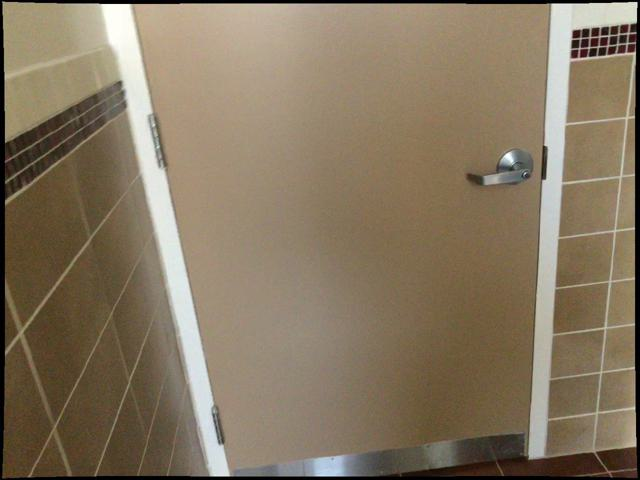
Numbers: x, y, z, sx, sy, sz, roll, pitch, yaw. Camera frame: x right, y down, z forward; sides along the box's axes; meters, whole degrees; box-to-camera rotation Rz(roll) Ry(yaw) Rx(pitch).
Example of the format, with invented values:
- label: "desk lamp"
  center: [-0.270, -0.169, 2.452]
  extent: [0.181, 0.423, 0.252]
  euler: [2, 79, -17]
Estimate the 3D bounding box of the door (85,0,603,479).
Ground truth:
- label: "door"
  center: [0.130, 0.050, 1.480]
  extent: [1.087, 1.553, 0.100]
  euler: [-7, 21, -2]
